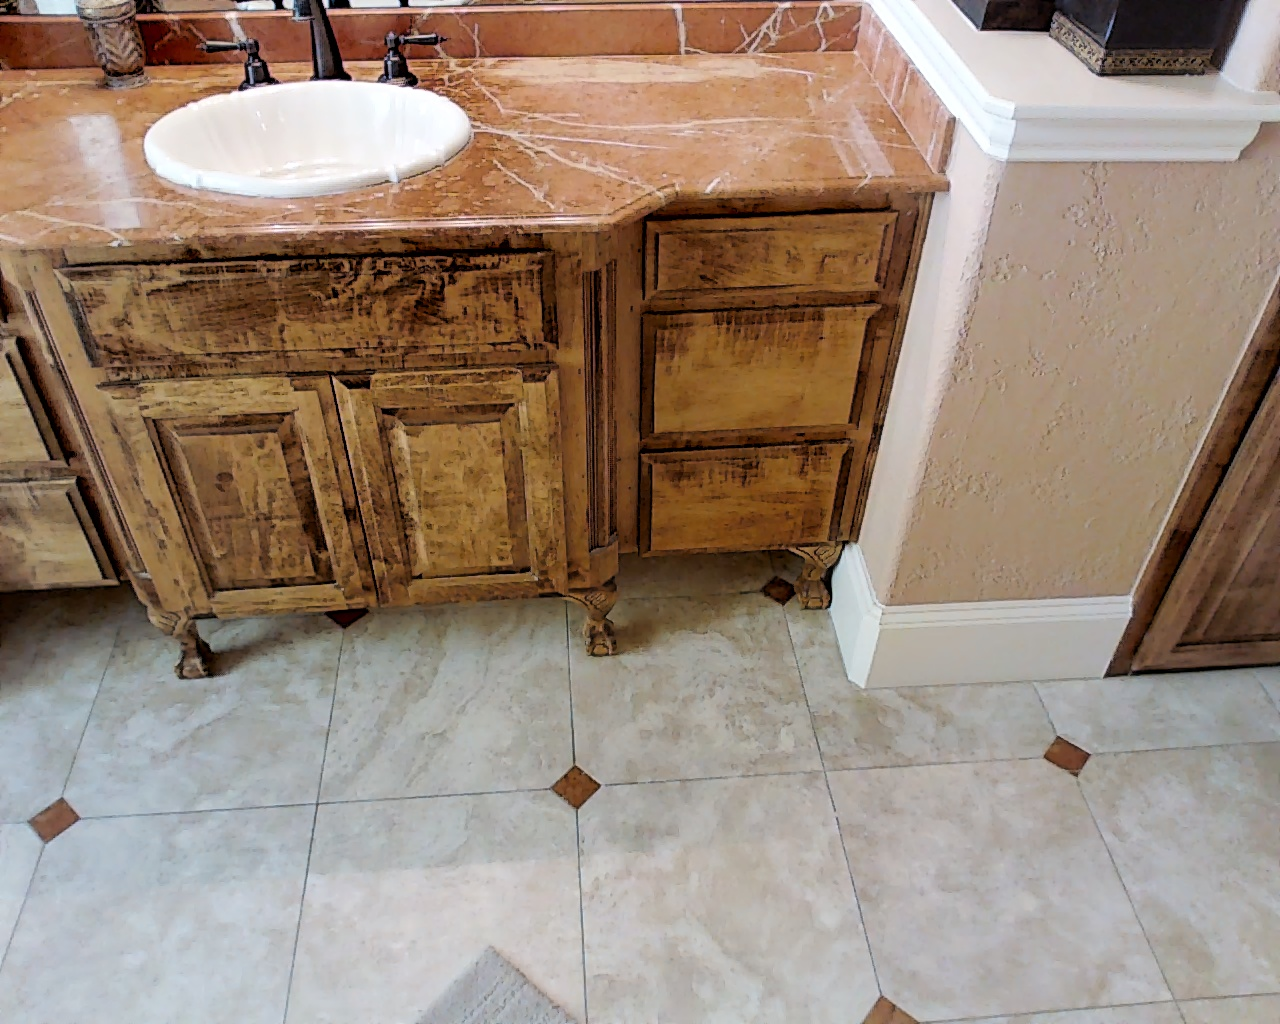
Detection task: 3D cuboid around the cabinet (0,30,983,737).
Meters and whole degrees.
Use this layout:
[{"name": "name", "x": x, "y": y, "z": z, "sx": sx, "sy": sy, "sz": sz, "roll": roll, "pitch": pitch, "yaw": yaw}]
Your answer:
[{"name": "cabinet", "x": -0.470, "y": -0.190, "z": 1.830, "sx": 1.750, "sy": 1.000, "sz": 0.570, "roll": -3, "pitch": 43, "yaw": -4}]
